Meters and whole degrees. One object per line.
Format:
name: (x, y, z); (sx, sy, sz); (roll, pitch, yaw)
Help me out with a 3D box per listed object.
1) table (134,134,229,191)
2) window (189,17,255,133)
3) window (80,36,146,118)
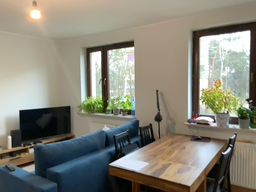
table: (0.750, 1.030, 2.680); (0.720, 0.730, 1.340); (2, 4, 36)
window: (1.670, -0.280, 3.030); (1.420, 1.480, 0.510); (2, 4, 38)
window: (-0.360, -0.370, 4.490); (1.570, 1.530, 0.230); (2, 4, 34)
